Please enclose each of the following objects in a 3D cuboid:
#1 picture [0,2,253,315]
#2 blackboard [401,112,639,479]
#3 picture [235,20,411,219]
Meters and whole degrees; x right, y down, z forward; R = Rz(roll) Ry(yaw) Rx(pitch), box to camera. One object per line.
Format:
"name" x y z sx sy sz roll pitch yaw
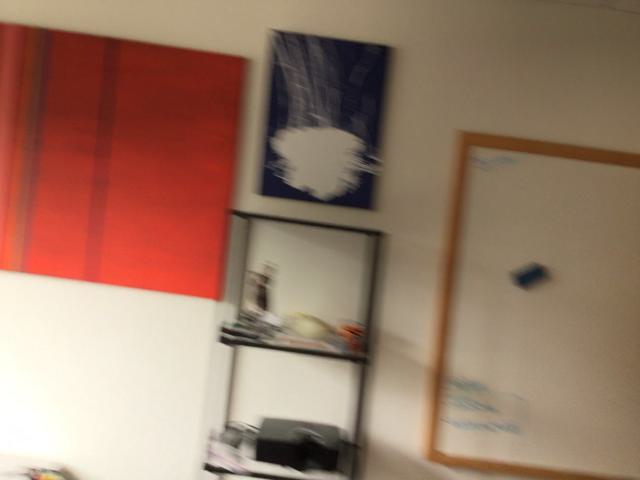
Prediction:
"picture" -0.900 -0.310 2.090 1.170 0.980 0.070 9 1 1
"blackboard" 0.880 0.270 2.030 0.980 1.270 0.130 9 1 1
"picture" 0.010 -0.430 2.080 0.530 0.630 0.050 9 1 1
